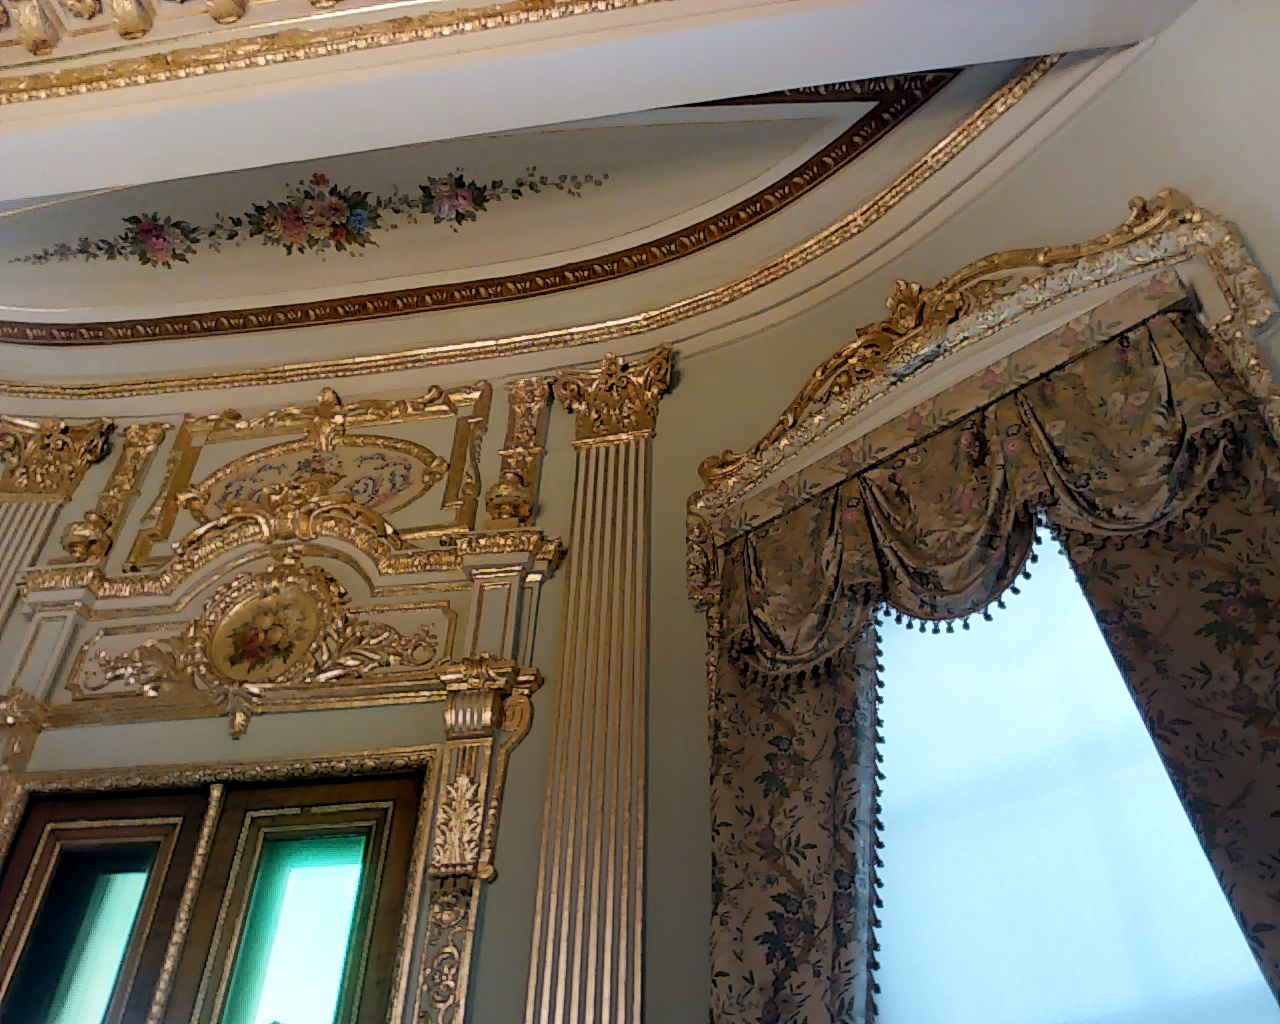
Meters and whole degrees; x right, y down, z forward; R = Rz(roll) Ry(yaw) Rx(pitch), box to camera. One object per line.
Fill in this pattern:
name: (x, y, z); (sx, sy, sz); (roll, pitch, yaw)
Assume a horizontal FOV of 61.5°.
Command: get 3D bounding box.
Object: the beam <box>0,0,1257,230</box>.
beam: (-1.489, -1.541, 4.130); (7.125, 0.350, 0.570); (-4, -42, 7)
